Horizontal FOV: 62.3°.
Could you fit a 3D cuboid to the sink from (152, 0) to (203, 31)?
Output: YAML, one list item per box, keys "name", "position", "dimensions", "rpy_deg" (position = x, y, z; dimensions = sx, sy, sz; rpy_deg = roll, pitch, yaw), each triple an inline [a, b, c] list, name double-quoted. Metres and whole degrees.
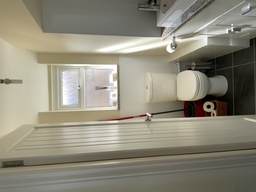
- name: "sink"
  position: [0.330, -0.720, 1.510]
  dimensions: [0.670, 0.120, 0.310]
  rpy_deg: [180, 90, -79]

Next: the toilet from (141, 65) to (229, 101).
- name: "toilet"
  position: [0.620, -0.120, 2.510]
  dimensions: [0.680, 0.780, 0.360]
  rpy_deg: [174, 96, -79]

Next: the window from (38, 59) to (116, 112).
- name: "window"
  position: [-0.650, -0.130, 2.780]
  dimensions: [0.130, 0.960, 0.650]
  rpy_deg: [168, 102, -78]
